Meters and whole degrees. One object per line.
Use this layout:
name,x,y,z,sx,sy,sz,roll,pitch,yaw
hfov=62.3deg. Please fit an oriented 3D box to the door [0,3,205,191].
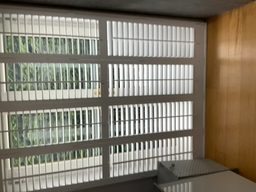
door,-0.170,0.100,2.000,0.080,2.080,1.650,-165,75,-69
